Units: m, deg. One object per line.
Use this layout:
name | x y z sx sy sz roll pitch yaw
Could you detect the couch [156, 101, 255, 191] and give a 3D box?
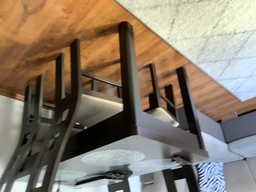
couch | 1.810 0.710 2.830 2.620 0.920 1.080 -28 143 35
